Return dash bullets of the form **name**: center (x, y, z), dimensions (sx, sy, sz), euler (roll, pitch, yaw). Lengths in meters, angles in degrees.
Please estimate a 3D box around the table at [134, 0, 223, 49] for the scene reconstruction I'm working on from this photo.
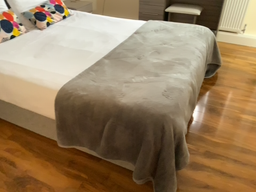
- **table**: center (0.720, -1.250, 3.140), dimensions (1.180, 0.780, 0.420), euler (15, 38, 19)

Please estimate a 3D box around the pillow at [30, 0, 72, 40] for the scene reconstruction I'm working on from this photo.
- **pillow**: center (-0.850, -0.960, 2.380), dimensions (0.130, 0.280, 0.560), euler (22, 80, 5)
